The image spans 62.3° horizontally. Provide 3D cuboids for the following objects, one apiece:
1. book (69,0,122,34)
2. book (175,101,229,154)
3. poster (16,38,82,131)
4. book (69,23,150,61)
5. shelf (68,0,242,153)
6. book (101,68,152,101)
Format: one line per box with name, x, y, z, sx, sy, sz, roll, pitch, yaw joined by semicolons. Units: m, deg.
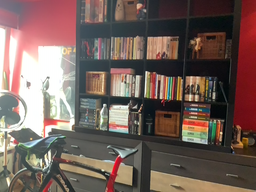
book;-0.320;-0.910;2.200;0.340;0.410;0.450;5;5;26
book;0.670;0.260;1.940;0.400;0.360;0.380;4;5;20
poster;-1.050;-0.160;2.760;0.950;1.130;0.080;4;5;19
book;-0.190;-0.540;2.220;0.730;0.290;0.400;4;5;22
shelf;0.190;-0.370;2.090;1.540;1.530;0.390;4;5;20
book;-0.010;-0.120;2.150;0.390;0.290;0.360;5;5;24
